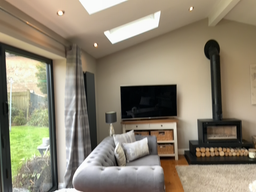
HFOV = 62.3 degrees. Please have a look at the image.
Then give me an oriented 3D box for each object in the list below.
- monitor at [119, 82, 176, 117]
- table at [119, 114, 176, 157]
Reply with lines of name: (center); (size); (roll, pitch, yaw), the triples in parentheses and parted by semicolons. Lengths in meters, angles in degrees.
monitor: (0.440, 0.080, 4.730); (1.270, 0.720, 0.080); (-3, 4, -6)
table: (0.440, 0.880, 4.790); (1.190, 0.870, 0.470); (-2, 1, 5)
